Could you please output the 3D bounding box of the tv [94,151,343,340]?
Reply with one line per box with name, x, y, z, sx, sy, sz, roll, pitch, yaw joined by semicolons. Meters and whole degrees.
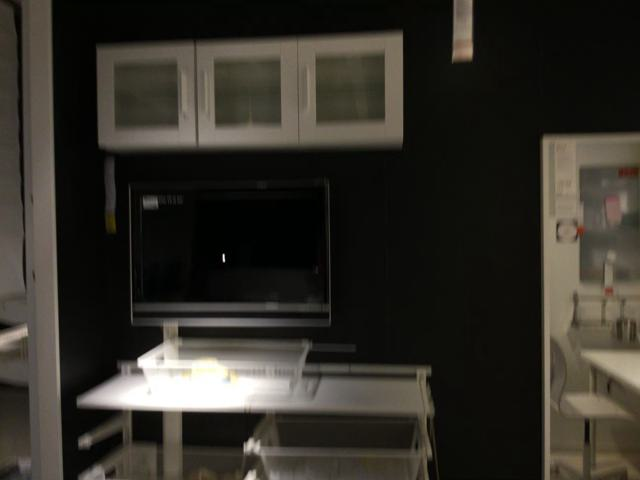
tv;-0.400;0.030;2.310;0.940;0.680;0.180;-3;0;8
